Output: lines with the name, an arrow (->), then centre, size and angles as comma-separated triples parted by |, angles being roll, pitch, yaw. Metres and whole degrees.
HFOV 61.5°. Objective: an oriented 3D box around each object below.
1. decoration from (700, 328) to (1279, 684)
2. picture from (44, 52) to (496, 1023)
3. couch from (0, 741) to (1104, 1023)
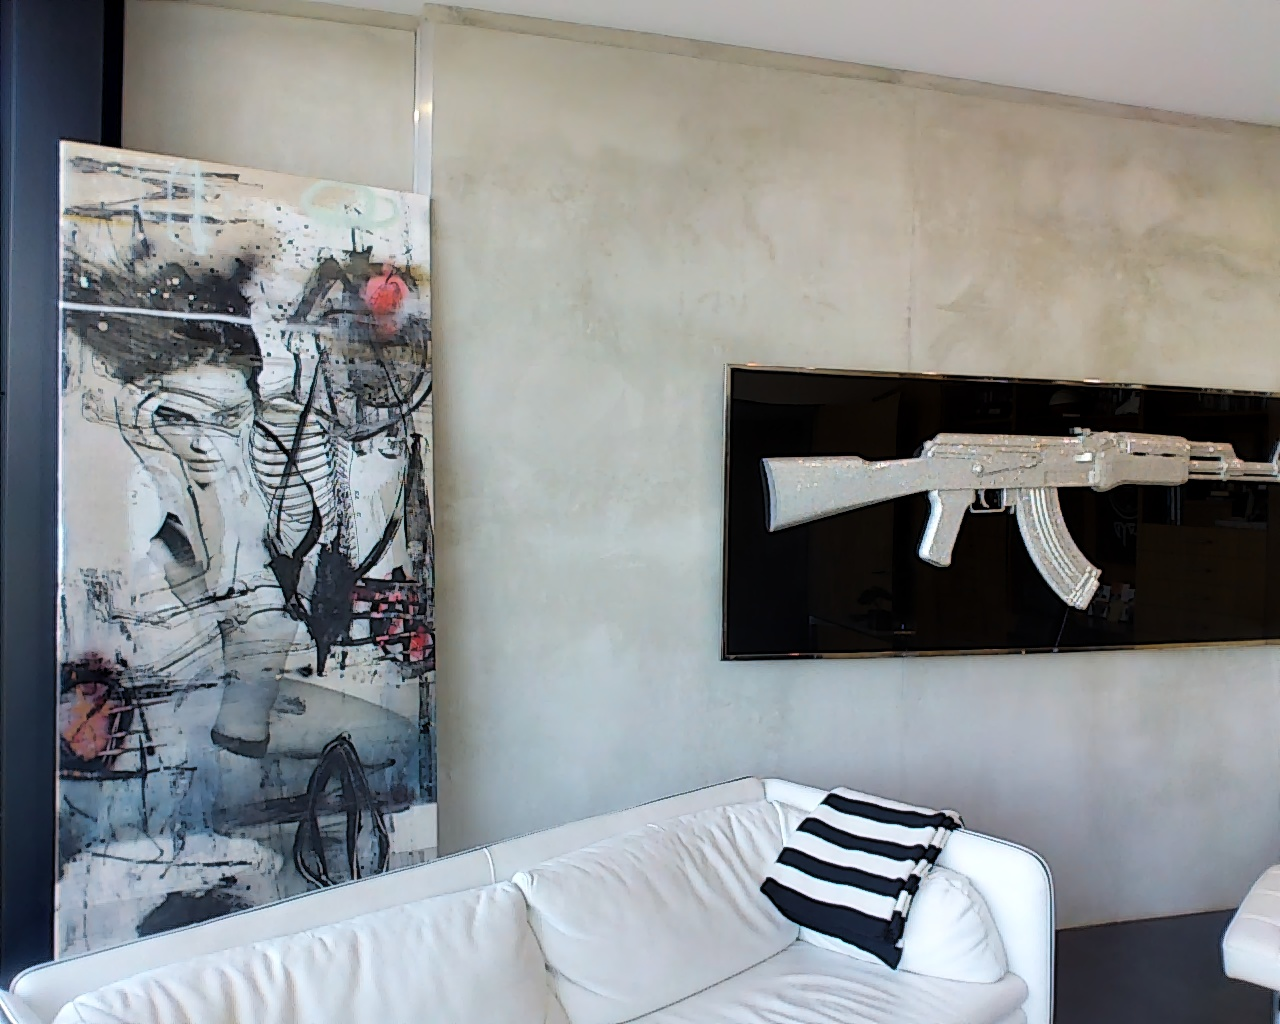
decoration -> 1.530, -0.010, 3.830 | 2.720, 1.120, 0.140 | 0, 1, -16
picture -> -0.970, 0.210, 2.890 | 1.090, 2.520, 0.330 | 0, 1, -31
couch -> -0.050, 1.140, 2.290 | 2.430, 0.760, 1.040 | 0, 1, -44
